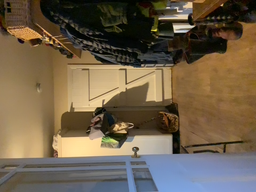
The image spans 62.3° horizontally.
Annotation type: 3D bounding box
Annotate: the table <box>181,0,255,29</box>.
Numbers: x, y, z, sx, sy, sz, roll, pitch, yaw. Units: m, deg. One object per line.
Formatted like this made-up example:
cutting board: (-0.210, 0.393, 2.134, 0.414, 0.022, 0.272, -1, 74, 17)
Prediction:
table: (0.760, -0.710, 1.430, 1.140, 0.450, 0.260, -123, 33, -84)
